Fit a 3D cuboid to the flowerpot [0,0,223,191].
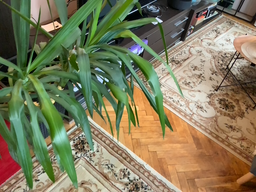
[{"bbox_3d":[-0.250,-0.020,0.870,0.630,1.100,1.000,34,50,20],"label":"flowerpot"}]
